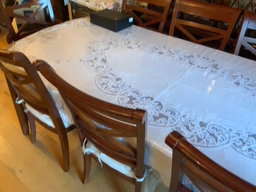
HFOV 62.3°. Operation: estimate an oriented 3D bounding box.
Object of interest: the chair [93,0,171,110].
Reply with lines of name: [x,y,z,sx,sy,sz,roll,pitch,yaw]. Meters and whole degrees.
chair: [0.020,-0.460,2.080,0.450,1.000,0.500,31,46,30]
